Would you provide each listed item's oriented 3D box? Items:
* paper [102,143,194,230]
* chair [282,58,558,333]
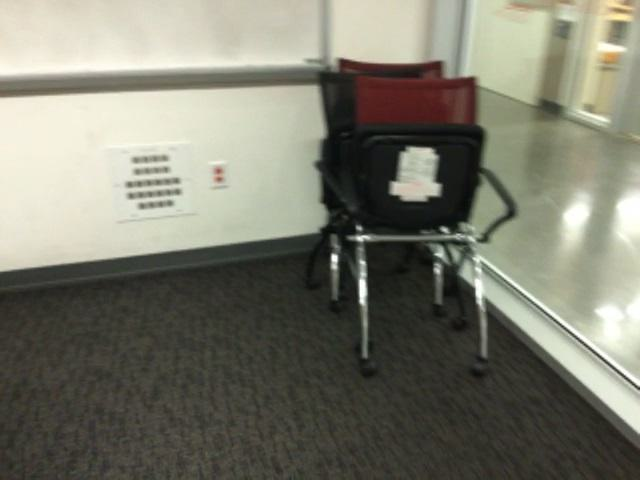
[{"bbox_3d":[-0.720,-0.230,2.450,0.350,0.340,0.060,-7,25,-23],"label":"paper"},{"bbox_3d":[0.300,-0.240,2.330,0.730,0.840,0.820,-3,24,-15],"label":"chair"}]
